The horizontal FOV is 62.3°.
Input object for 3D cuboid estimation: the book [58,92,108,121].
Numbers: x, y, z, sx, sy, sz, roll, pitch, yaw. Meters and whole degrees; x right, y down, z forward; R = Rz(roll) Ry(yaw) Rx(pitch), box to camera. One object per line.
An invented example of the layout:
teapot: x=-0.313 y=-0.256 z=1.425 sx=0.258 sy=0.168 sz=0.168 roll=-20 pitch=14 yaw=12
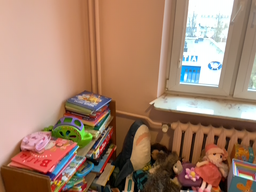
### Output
book: x=-0.320 y=0.070 z=1.570 sx=0.270 sy=0.090 sz=0.260 roll=7 pitch=22 yaw=14

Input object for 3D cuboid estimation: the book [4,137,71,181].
book: x=-0.450 y=0.310 z=1.080 sx=0.250 sy=0.090 sz=0.180 roll=6 pitch=22 yaw=11

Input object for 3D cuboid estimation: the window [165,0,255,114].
window: x=1.010 y=-0.610 z=1.520 sx=1.330 sy=1.530 sz=0.210 roll=7 pitch=22 yaw=13
